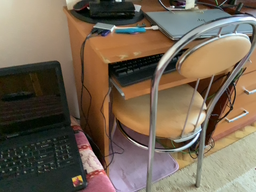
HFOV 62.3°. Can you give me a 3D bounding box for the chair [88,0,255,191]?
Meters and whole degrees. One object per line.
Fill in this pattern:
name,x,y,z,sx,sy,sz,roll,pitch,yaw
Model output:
chair,0.120,0.040,0.950,0.420,0.780,0.440,-17,44,-25
